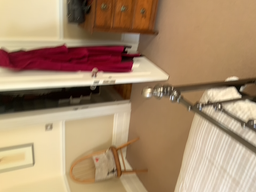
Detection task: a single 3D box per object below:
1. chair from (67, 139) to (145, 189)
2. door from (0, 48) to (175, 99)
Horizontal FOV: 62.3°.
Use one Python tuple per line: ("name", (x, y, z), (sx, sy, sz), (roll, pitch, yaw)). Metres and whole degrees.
("chair", (-0.360, 1.030, 3.230), (0.640, 0.960, 0.470), (-44, 57, 57))
("door", (-0.450, -0.310, 2.310), (0.770, 1.810, 0.170), (48, 136, 50))
